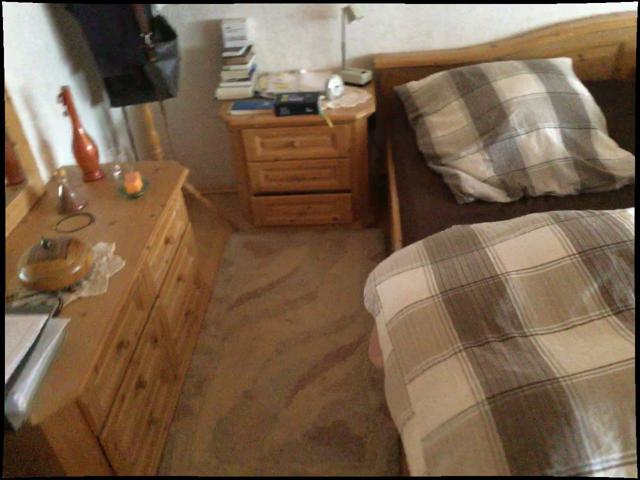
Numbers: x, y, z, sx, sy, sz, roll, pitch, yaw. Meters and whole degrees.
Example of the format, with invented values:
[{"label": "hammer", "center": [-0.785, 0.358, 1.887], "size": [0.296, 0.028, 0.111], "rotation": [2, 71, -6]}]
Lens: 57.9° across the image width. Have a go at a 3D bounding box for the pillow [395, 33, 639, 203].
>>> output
[{"label": "pillow", "center": [0.689, -0.480, 2.150], "size": [0.789, 0.270, 0.780], "rotation": [-1, 38, 6]}]
